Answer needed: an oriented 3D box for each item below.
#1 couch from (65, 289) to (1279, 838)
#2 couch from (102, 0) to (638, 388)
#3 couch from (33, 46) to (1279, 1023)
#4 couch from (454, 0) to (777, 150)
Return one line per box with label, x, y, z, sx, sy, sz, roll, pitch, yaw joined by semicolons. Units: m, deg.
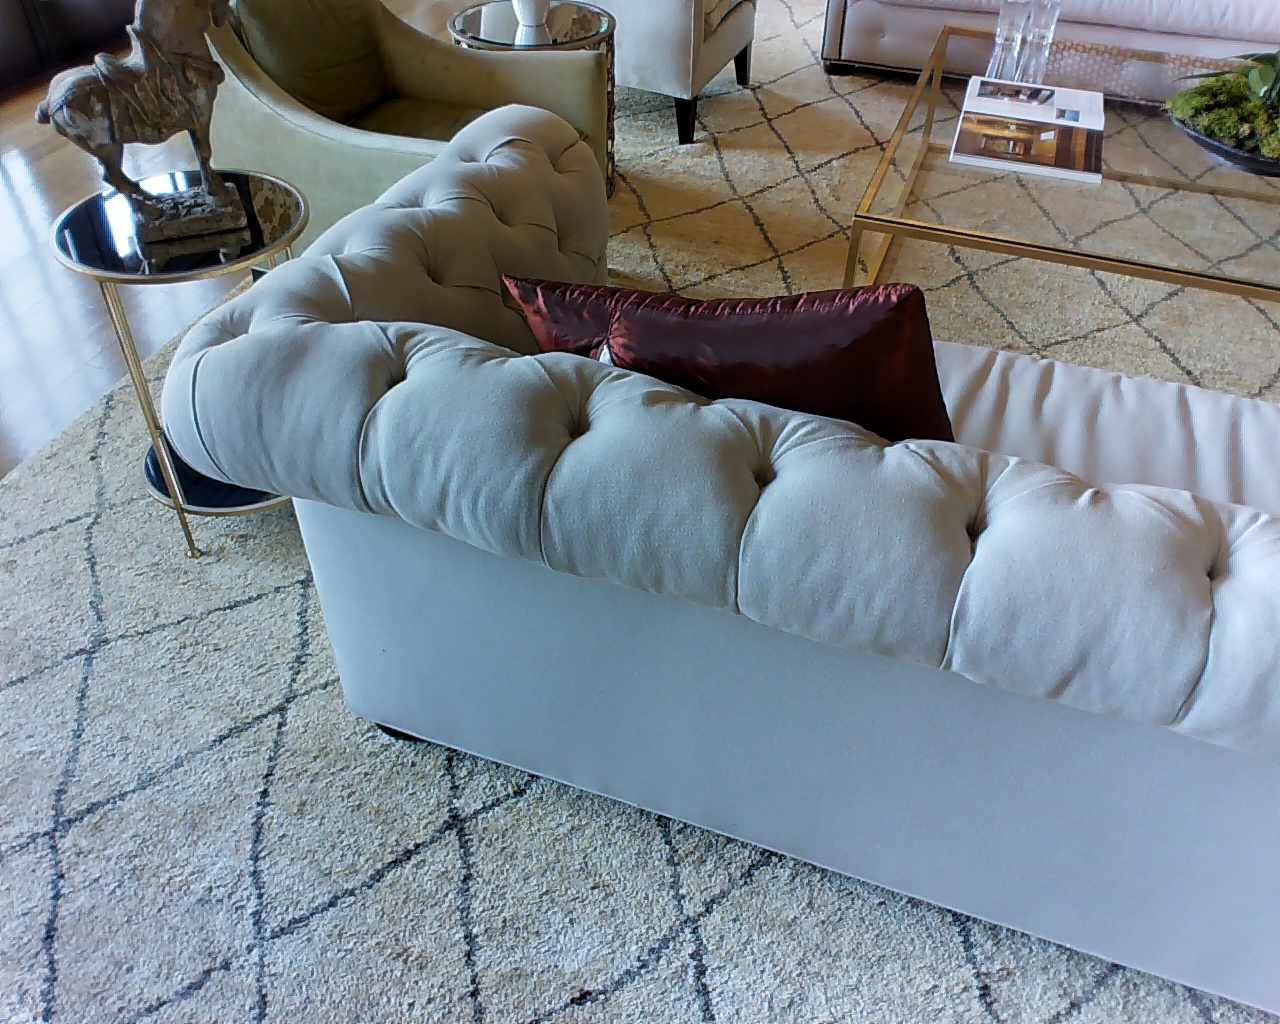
couch;0.670;0.180;1.040;2.770;0.230;0.180;14;43;14
couch;-0.600;-0.980;2.780;0.960;0.830;0.810;14;43;15
couch;0.810;0.110;1.590;2.810;0.880;1.110;13;43;13
couch;-0.060;-1.980;3.910;0.960;0.890;0.820;15;43;15
